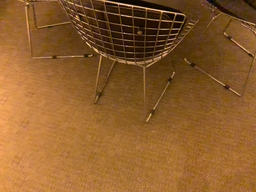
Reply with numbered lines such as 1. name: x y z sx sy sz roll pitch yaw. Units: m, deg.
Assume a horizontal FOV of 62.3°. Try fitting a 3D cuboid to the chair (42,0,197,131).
1. chair: 0.030 -0.300 1.110 0.440 0.710 0.590 23 60 16
